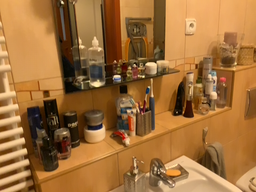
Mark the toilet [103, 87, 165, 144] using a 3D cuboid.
[{"bbox_3d":[0.030,0.080,1.010,0.240,0.180,0.160,-12,19,-28],"label":"toilet"}]
